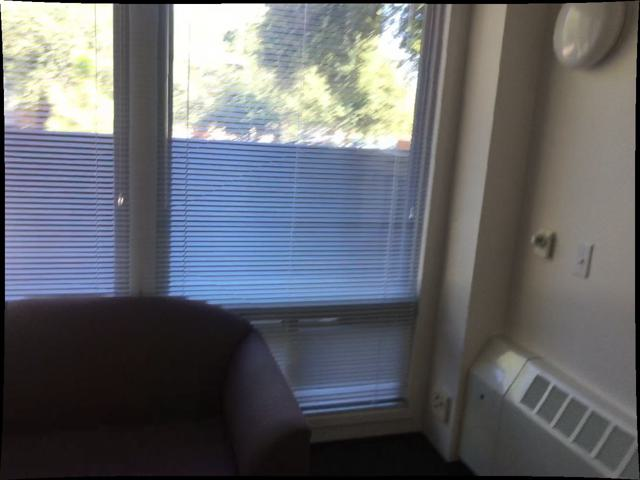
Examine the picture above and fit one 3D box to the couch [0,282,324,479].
[{"bbox_3d":[-0.988,0.671,1.780,1.767,0.791,0.920,-1,13,-17],"label":"couch"}]
